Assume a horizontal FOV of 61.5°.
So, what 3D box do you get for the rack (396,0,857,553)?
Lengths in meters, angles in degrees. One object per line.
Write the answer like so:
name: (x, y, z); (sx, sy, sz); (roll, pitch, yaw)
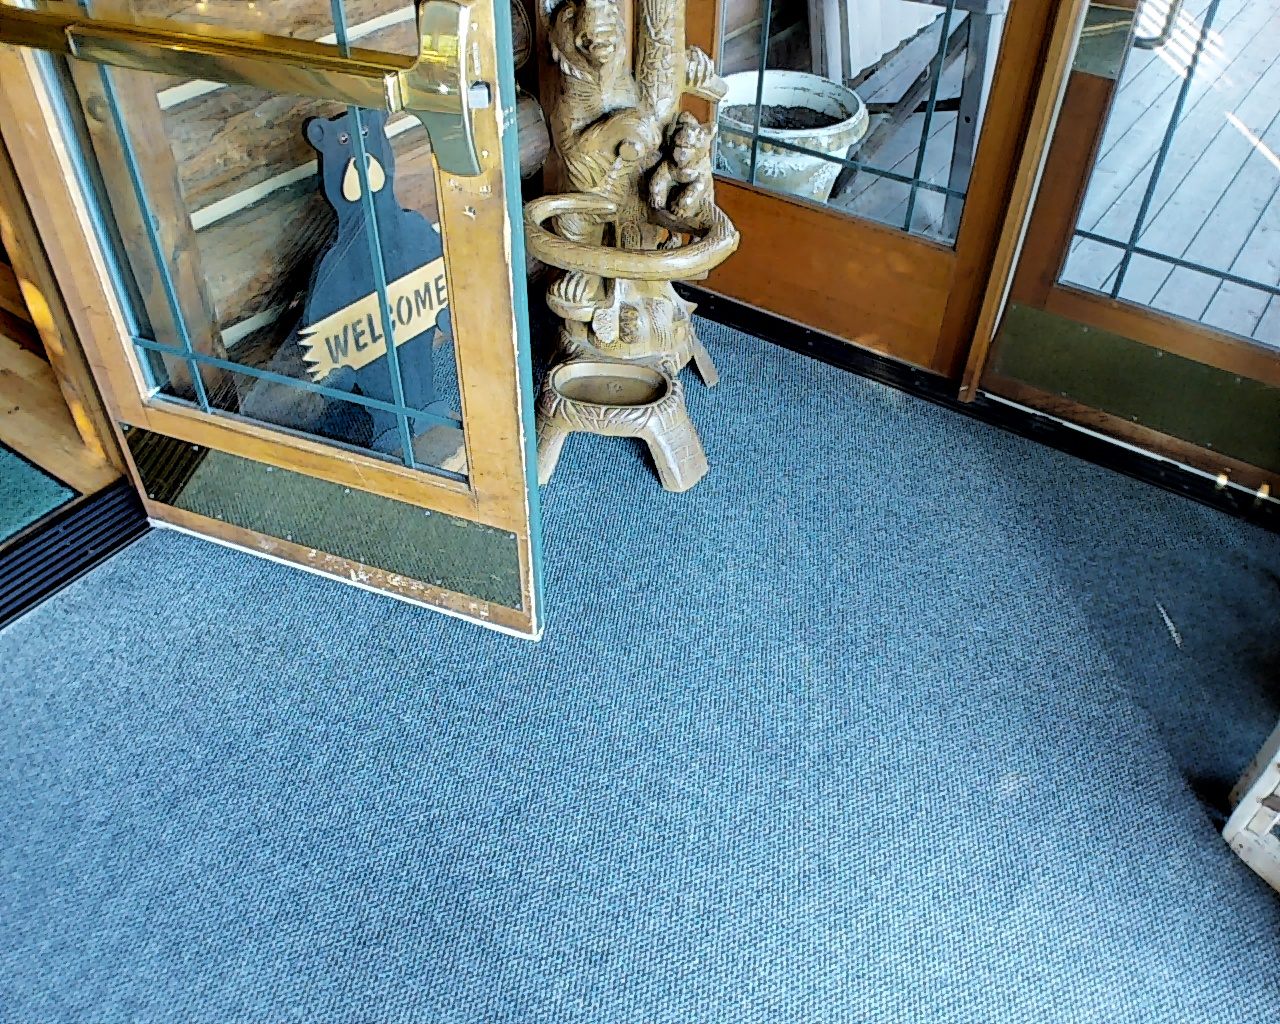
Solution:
rack: (-0.010, -0.930, 1.910); (0.590, 2.000, 0.590); (26, 48, 25)
